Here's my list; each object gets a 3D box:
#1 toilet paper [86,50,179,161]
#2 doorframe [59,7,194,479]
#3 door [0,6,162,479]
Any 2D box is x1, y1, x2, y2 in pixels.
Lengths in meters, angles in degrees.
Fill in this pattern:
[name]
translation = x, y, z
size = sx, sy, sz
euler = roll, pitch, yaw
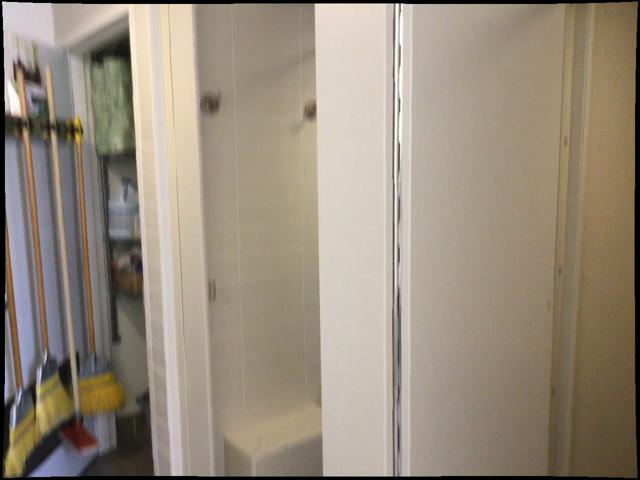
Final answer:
[toilet paper]
translation = -0.909, -0.631, 2.800
size = 0.310, 0.480, 0.330
euler = -7, 10, -37
[doorframe]
translation = -0.849, 0.090, 2.480
size = 0.150, 1.872, 0.910
euler = -7, 10, -37
[door]
translation = -1.179, 0.160, 2.400
size = 0.690, 1.982, 0.730
euler = -7, 10, -37
